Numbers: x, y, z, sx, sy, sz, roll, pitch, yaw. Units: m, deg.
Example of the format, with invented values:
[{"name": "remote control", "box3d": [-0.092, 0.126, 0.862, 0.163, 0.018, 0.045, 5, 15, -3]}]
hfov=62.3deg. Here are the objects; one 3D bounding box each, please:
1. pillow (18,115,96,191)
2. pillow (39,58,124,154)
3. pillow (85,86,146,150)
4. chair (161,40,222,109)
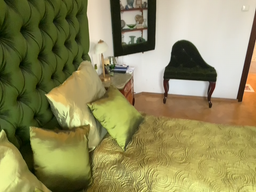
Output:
[{"name": "pillow", "box3d": [-0.410, 0.340, 1.250, 0.330, 0.390, 0.190, -11, 4, -41]}, {"name": "pillow", "box3d": [-0.300, 0.050, 1.590, 0.230, 0.580, 0.610, -8, 2, 24]}, {"name": "pillow", "box3d": [-0.080, 0.170, 1.600, 0.220, 0.380, 0.440, -16, -12, 21]}, {"name": "chair", "box3d": [0.840, -0.300, 2.930, 0.690, 0.860, 0.300, 6, 28, 14]}]
